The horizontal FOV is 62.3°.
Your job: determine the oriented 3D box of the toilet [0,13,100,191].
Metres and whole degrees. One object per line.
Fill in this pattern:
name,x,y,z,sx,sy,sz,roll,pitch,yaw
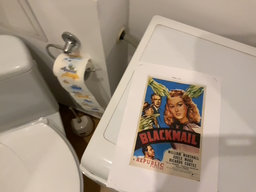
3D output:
toilet,-0.430,0.230,0.900,0.390,0.720,0.720,-21,70,-10
